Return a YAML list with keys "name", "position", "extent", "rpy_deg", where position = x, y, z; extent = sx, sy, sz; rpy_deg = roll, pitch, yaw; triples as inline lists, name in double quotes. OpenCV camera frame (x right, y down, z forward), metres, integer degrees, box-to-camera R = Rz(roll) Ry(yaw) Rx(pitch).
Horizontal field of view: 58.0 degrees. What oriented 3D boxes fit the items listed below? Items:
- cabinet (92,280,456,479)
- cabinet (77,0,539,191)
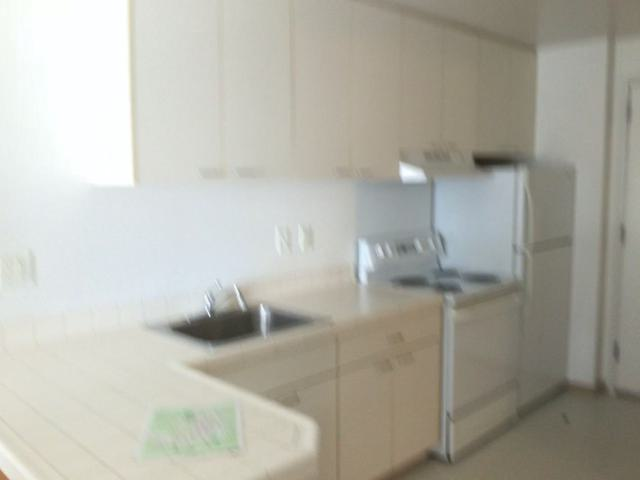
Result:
- name: "cabinet"
  position: [-0.080, 0.770, 2.580]
  extent: [1.610, 0.930, 0.540]
  rpy_deg: [-7, 7, -44]
- name: "cabinet"
  position: [0.280, -0.760, 3.050]
  extent: [2.890, 0.920, 0.440]
  rpy_deg: [-7, 7, -44]
